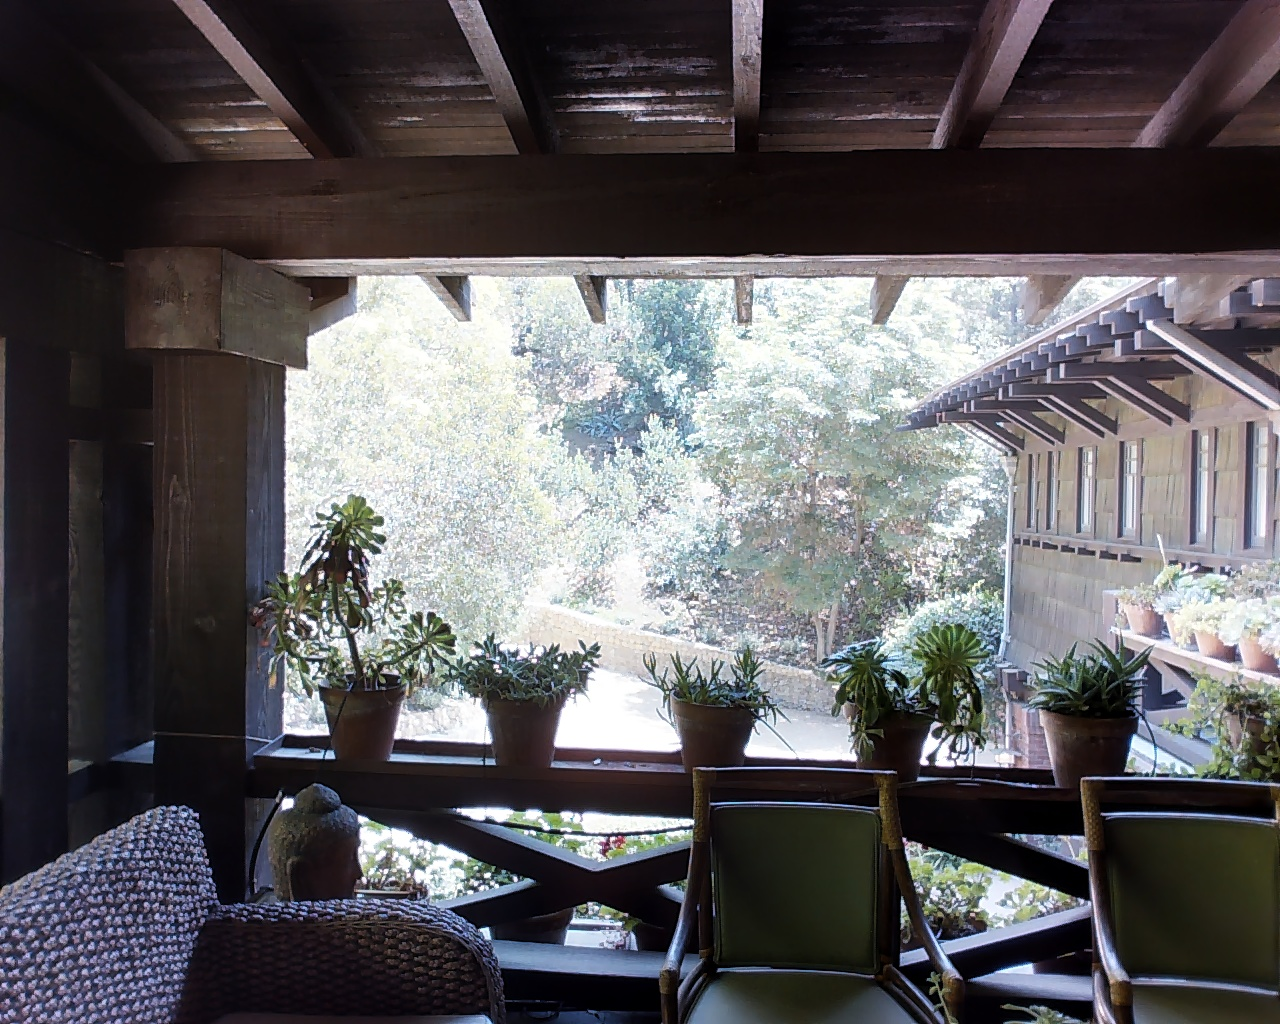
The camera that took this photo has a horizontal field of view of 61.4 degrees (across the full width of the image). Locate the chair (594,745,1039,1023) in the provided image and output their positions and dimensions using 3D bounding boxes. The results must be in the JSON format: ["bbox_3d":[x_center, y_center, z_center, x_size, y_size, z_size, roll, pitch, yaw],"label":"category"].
[{"bbox_3d":[0.350,1.060,2.330,0.820,0.950,0.630,1,0,6],"label":"chair"}]

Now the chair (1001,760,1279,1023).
[{"bbox_3d":[1.200,1.070,2.280,0.700,0.920,0.630,1,0,6],"label":"chair"}]
